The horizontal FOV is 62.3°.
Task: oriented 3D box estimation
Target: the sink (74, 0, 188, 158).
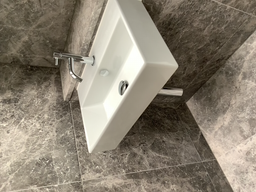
[{"bbox_3d":[-0.060,-0.050,0.900,0.600,0.150,0.380,-57,41,43],"label":"sink"}]
